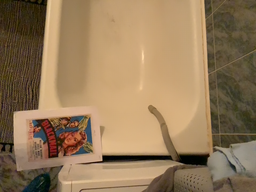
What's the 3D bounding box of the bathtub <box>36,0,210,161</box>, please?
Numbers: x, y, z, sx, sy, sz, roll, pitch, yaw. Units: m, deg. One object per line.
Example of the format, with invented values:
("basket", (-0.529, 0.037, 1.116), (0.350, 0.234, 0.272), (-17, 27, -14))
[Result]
("bathtub", (-0.060, -0.410, 1.190), (0.660, 0.600, 1.390), (1, 81, -11))
